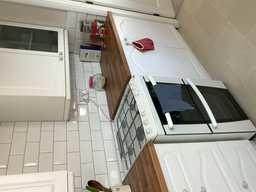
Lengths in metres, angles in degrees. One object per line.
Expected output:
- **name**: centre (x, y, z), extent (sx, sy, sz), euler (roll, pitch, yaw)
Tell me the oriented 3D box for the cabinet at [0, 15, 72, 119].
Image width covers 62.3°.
- **cabinet**: centre (-1.060, -0.300, 1.920), extent (0.330, 1.000, 1.010), euler (113, 151, -43)
